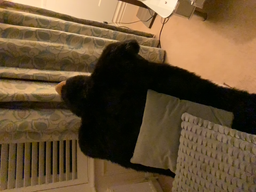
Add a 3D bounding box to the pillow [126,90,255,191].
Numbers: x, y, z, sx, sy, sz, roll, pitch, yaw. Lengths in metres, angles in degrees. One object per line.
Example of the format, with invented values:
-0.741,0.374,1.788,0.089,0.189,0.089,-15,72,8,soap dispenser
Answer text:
0.300,0.270,1.010,0.570,0.310,0.440,32,115,55,pillow
